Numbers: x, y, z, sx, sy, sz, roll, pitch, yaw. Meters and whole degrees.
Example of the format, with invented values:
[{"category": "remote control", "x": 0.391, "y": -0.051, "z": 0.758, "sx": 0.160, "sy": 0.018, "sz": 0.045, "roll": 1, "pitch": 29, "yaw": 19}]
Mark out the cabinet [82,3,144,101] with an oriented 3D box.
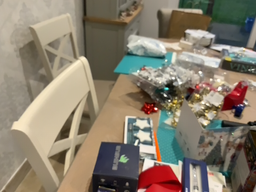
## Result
[{"category": "cabinet", "x": -0.140, "y": -0.590, "z": 2.580, "sx": 0.470, "sy": 0.850, "sz": 1.010, "roll": 9, "pitch": 31, "yaw": 6}]
